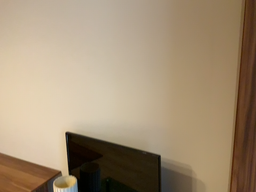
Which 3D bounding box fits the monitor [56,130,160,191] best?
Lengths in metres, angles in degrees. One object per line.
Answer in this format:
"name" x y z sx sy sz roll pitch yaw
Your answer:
"monitor" -0.160 0.520 1.330 0.750 0.480 0.070 7 14 33
